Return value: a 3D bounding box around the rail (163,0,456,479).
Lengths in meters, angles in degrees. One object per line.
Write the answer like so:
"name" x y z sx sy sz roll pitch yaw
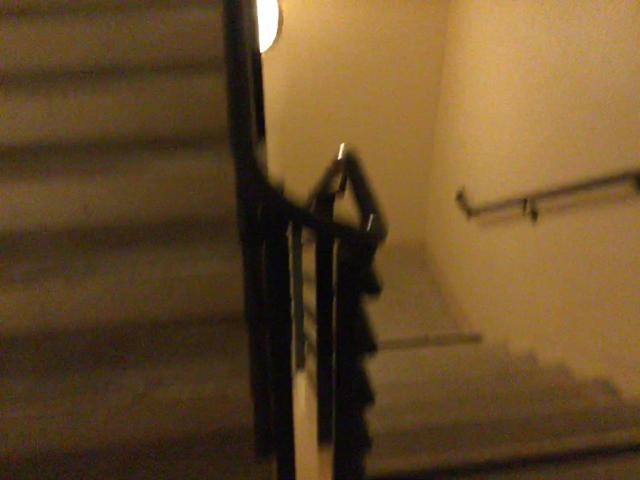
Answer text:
"rail" -0.120 -0.080 1.770 0.280 2.840 1.780 -5 38 -6

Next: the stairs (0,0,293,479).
"stairs" -0.740 -0.090 1.620 1.170 0.920 1.710 -5 38 -6
